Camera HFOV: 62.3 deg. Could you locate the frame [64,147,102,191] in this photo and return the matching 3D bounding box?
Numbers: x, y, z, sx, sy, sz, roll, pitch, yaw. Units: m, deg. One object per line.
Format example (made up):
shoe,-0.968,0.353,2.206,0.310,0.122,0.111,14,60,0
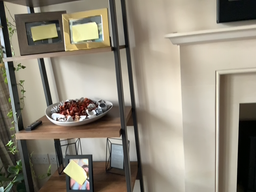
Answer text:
frame,-0.250,0.410,1.210,0.130,0.170,0.160,-2,15,15
